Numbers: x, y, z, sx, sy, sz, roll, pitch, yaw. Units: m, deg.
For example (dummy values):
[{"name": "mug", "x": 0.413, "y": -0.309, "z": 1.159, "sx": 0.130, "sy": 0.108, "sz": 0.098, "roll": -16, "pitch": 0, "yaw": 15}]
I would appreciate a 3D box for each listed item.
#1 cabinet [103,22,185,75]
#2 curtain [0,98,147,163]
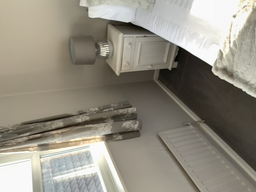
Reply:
[{"name": "cabinet", "x": 0.150, "y": -0.520, "z": 2.250, "sx": 0.360, "sy": 0.740, "sz": 0.420, "roll": -127, "pitch": 37, "yaw": -50}, {"name": "curtain", "x": -0.560, "y": 0.260, "z": 1.680, "sx": 0.280, "sy": 1.430, "sz": 0.210, "roll": -124, "pitch": 35, "yaw": -47}]
